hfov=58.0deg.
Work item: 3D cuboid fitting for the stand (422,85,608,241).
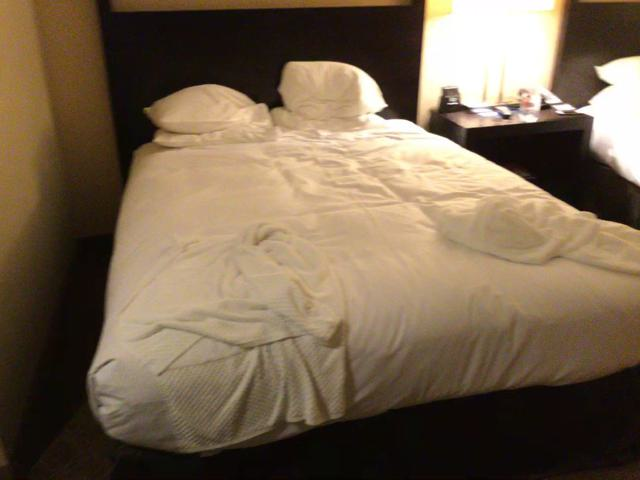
[{"bbox_3d":[1.060,-0.460,3.280,0.770,0.710,0.510,-6,24,-12],"label":"stand"}]
